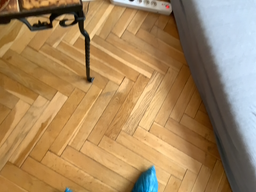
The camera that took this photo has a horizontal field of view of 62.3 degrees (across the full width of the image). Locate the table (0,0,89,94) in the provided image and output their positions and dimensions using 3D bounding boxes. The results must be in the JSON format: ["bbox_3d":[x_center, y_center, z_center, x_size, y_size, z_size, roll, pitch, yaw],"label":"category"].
[{"bbox_3d":[-0.550,-0.380,0.840,0.660,0.610,0.570,-14,79,-13],"label":"table"}]
